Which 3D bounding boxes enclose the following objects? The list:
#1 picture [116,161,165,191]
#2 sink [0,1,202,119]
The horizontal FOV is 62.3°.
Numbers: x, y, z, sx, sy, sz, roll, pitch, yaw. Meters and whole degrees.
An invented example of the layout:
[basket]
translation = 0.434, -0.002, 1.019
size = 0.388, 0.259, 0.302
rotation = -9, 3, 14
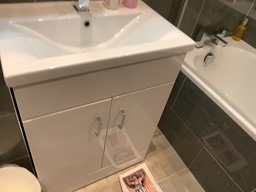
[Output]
[picture]
translation = 0.090, 0.540, 1.210
size = 0.210, 0.030, 0.290
rotation = -15, 50, -27
[sink]
translation = -0.110, -0.190, 0.790
size = 0.630, 0.160, 0.390
rotation = -14, 50, -27
